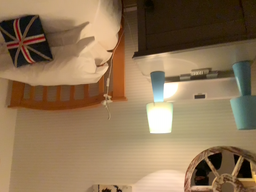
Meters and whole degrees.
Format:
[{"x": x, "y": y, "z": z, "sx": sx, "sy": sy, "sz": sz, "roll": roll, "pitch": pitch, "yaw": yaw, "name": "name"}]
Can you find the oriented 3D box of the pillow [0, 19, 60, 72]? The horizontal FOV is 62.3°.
[{"x": -0.650, "y": -0.310, "z": 1.290, "sx": 0.420, "sy": 0.280, "sz": 0.090, "roll": 5, "pitch": -156, "yaw": 7, "name": "pillow"}]
